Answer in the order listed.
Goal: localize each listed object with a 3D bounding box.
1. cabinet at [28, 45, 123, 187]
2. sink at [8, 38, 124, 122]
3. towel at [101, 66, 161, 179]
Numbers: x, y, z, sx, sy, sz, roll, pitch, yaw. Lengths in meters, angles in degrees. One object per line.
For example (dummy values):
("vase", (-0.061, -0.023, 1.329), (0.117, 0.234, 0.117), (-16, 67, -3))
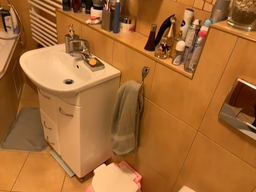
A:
("cabinet", (-0.380, 0.140, 1.510), (0.540, 0.800, 0.310), (34, 42, 31))
("sink", (-0.370, -0.140, 1.270), (0.540, 0.170, 0.420), (34, 42, 31))
("towel", (-0.010, 0.180, 1.260), (0.180, 0.670, 0.200), (-25, 48, -39))
